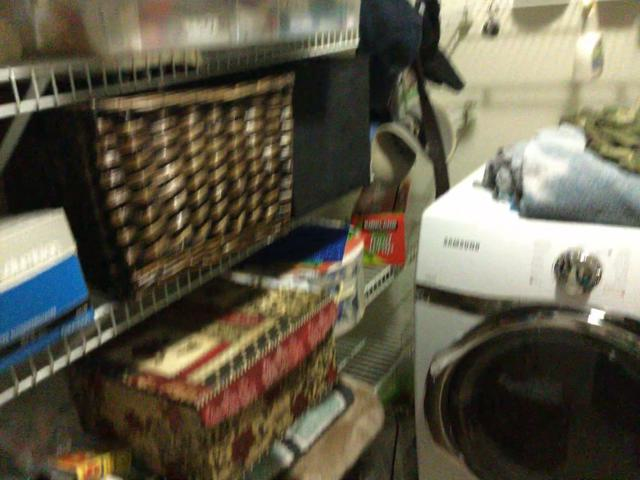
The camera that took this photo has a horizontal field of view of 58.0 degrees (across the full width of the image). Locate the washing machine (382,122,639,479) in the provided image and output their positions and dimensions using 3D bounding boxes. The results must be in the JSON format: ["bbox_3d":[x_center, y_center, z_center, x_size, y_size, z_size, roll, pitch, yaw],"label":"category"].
[{"bbox_3d":[0.680,0.300,1.450,0.740,1.020,0.750,9,26,32],"label":"washing machine"}]

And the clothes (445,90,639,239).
[{"bbox_3d":[0.600,-0.170,1.170,0.590,0.210,0.350,9,26,32],"label":"clothes"}]
